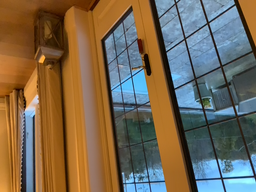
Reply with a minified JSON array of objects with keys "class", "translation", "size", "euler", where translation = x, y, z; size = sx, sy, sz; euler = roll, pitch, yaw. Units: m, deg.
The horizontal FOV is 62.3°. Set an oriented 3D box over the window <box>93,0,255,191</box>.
[{"class":"window","translation":[0.220,-0.180,1.450],"size":[0.090,2.040,1.250],"euler":[7,157,-40]}]
